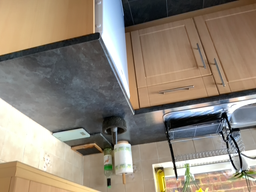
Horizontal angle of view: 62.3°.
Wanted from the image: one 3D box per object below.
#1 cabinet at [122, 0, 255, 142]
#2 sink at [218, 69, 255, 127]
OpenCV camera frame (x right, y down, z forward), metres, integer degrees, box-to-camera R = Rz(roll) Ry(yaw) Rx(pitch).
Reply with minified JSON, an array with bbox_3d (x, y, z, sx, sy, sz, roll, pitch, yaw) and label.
[{"bbox_3d":[0.610,-0.230,1.760,1.150,0.900,0.600,-11,149,8],"label":"cabinet"},{"bbox_3d":[0.970,0.010,1.550,0.480,0.190,0.480,-11,149,8],"label":"sink"}]
